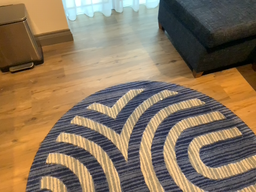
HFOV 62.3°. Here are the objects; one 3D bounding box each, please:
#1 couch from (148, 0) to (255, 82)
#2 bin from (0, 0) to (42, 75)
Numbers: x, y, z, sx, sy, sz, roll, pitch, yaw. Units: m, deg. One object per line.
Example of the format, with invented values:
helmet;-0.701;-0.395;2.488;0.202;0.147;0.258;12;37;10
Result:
couch;0.560;-0.630;1.760;0.460;0.490;0.840;-14;53;-13
bin;-0.960;-0.470;1.710;0.350;0.470;0.280;-15;53;-13
